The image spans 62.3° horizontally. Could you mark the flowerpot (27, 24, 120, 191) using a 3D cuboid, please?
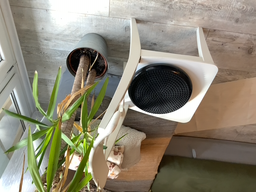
[{"bbox_3d":[-0.250,0.000,1.230,0.270,0.990,0.360,13,132,-10],"label":"flowerpot"}]
